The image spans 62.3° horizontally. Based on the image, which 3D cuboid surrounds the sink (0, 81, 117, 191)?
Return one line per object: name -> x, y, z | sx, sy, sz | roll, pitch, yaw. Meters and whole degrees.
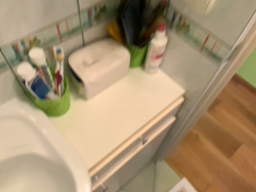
sink -> -0.340, 0.260, 0.510 | 0.510, 0.180, 0.360 | -36, 67, -23
